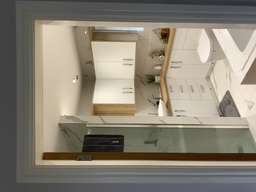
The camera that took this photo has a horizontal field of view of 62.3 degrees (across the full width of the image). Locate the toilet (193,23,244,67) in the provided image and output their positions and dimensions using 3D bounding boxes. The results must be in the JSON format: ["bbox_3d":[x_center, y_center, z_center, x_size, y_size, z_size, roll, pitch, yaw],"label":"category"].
[{"bbox_3d":[1.240,-0.720,2.990,0.370,0.450,0.520,92,178,-48],"label":"toilet"}]
